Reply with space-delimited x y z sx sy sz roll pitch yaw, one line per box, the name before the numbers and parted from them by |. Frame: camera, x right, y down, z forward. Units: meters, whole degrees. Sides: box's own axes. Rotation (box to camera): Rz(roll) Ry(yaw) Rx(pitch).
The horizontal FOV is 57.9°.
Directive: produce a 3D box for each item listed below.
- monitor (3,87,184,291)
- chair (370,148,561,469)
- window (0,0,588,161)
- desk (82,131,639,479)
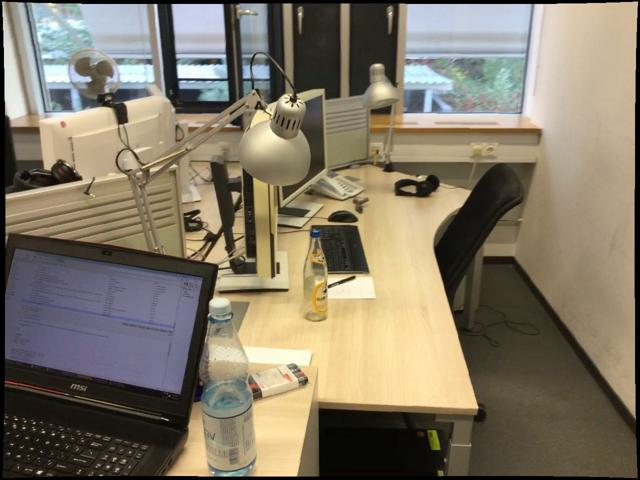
monitor | -0.689 -0.200 1.910 0.280 0.500 0.620 -1 23 1
chair | 0.450 0.230 2.080 0.490 0.991 0.560 -1 23 1
window | -0.420 -1.131 3.140 3.337 1.161 0.840 -1 23 1
desk | 0.150 0.110 2.310 1.179 0.560 2.360 -1 23 1
